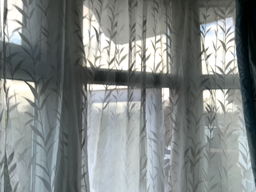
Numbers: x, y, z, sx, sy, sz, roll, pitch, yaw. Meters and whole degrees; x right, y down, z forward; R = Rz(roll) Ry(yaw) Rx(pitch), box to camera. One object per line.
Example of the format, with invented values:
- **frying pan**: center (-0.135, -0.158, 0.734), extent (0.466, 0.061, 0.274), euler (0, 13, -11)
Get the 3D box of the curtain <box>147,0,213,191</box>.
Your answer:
- **curtain**: center (0.220, 0.250, 0.870), extent (0.220, 1.510, 0.170), euler (-3, -6, 19)
